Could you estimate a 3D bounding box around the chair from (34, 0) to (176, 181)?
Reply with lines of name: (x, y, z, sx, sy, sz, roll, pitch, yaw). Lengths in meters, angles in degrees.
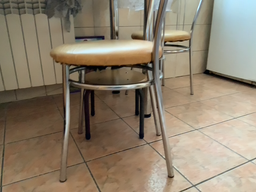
chair: (-0.070, -0.170, 0.790, 0.390, 0.910, 0.320, -1, 21, -3)
